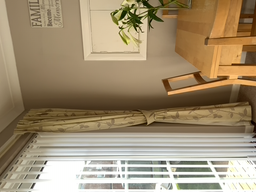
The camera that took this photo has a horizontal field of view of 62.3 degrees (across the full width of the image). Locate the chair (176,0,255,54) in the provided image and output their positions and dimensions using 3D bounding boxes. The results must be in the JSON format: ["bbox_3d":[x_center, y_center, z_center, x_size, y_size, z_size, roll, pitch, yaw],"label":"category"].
[{"bbox_3d":[0.740,-0.450,1.050,0.590,0.850,0.370,-90,0,-68],"label":"chair"}]
